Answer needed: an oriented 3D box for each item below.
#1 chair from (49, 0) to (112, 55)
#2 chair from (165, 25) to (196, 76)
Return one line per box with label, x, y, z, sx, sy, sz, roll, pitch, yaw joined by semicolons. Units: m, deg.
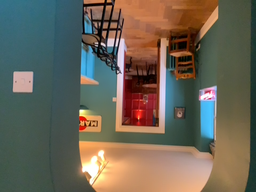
chair;-0.510;-0.970;2.440;0.570;0.890;0.500;1;179;5
chair;1.070;-0.880;4.270;0.420;0.880;0.490;1;179;40
